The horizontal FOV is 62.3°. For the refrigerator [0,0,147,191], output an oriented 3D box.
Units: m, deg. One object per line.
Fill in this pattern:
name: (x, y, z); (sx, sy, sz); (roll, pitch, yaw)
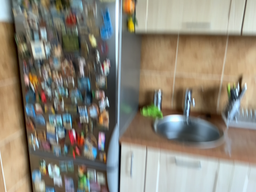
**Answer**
refrigerator: (-0.280, 0.160, 1.520); (0.630, 1.680, 0.690); (6, 16, 15)

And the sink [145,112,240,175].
sink: (0.410, 0.280, 1.420); (0.510, 0.140, 0.460); (6, 16, 15)
